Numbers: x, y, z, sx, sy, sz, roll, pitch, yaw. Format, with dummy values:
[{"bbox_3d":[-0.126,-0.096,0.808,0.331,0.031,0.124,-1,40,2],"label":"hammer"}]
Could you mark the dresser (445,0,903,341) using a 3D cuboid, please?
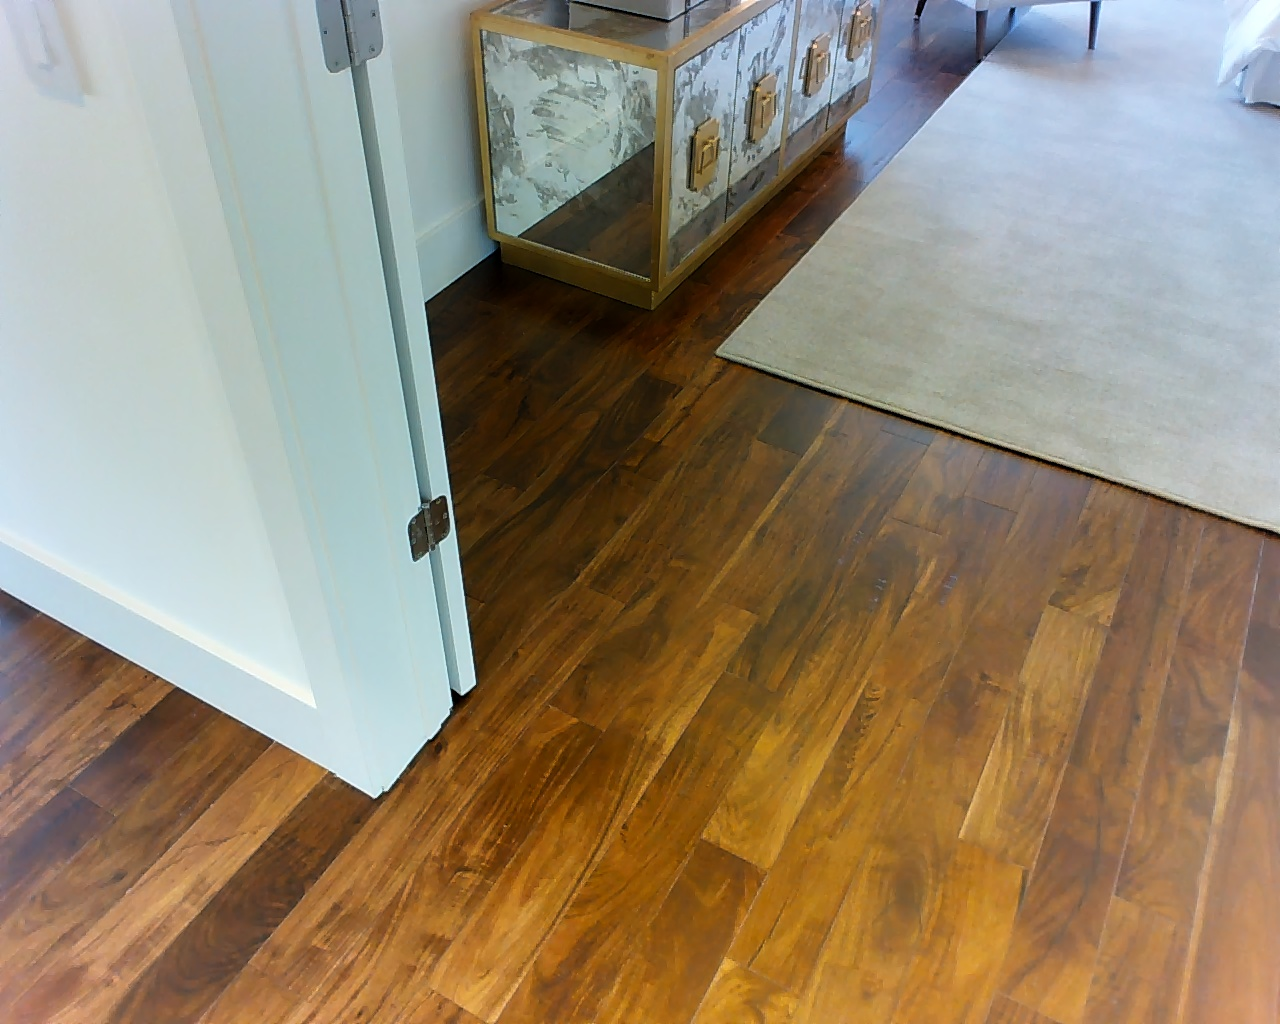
[{"bbox_3d":[0.200,-1.310,3.300,0.670,0.750,1.580,21,46,22],"label":"dresser"}]
